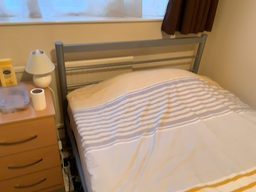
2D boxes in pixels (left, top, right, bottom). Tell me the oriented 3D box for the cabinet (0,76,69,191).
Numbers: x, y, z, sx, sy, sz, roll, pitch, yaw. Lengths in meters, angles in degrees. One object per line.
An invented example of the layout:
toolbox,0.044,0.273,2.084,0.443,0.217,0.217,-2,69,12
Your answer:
cabinet,-0.660,0.290,1.380,0.400,0.660,0.470,-10,33,-22

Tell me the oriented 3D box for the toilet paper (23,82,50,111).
toilet paper,-0.500,0.000,1.160,0.120,0.080,0.140,-9,33,-22
